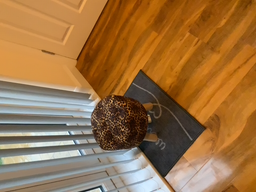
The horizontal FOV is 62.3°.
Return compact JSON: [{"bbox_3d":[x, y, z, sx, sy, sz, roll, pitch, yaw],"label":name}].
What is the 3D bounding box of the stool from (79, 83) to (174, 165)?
[{"bbox_3d":[-0.010,0.160,1.270,0.320,0.370,0.290,47,114,34],"label":"stool"}]
